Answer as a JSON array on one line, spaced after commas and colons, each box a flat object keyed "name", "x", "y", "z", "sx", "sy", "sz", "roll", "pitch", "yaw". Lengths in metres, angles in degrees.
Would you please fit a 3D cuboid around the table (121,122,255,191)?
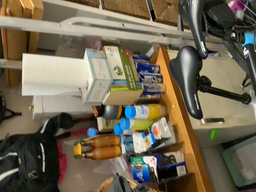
[{"name": "table", "x": 0.540, "y": 0.520, "z": 1.190, "sx": 0.610, "sy": 0.900, "sz": 0.570, "roll": -45, "pitch": 50, "yaw": 52}]
